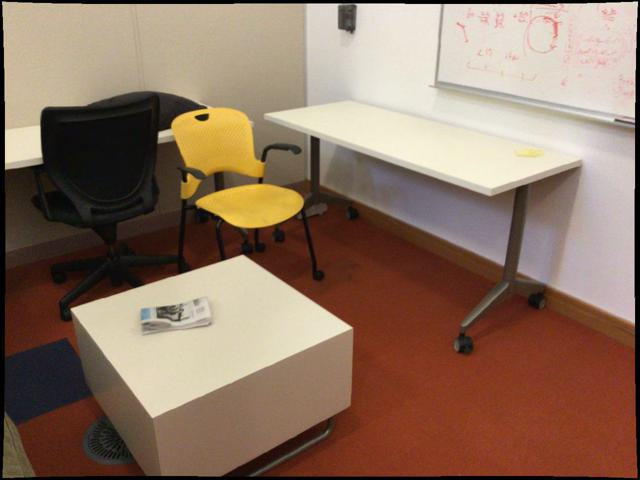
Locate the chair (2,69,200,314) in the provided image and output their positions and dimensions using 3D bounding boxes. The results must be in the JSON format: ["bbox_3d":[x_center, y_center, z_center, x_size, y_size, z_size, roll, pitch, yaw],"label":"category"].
[{"bbox_3d":[-0.969,-0.250,2.650,0.630,0.921,0.460,-16,31,-32],"label":"chair"}]

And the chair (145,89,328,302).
[{"bbox_3d":[-0.410,-0.260,2.850,0.570,0.771,0.680,-18,33,-35],"label":"chair"}]
